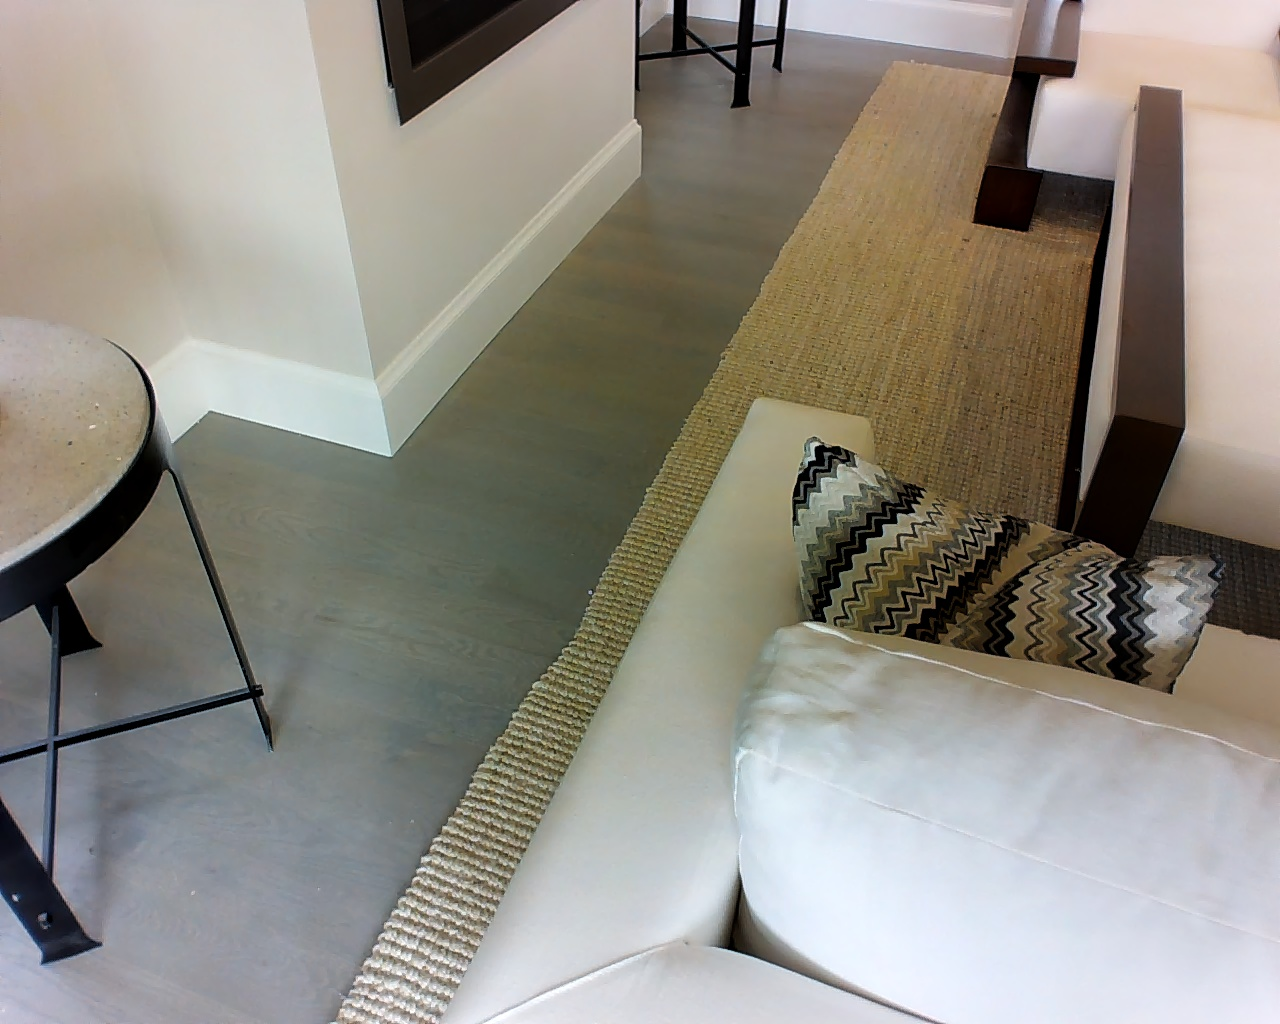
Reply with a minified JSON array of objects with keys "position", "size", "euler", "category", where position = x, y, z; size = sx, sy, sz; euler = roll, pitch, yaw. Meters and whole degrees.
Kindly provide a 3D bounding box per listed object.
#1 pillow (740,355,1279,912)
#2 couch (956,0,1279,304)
[{"position":[0.380,0.120,1.160],"size":[0.440,0.390,0.280],"euler":[19,44,19],"category":"pillow"},{"position":[1.570,-1.340,3.180],"size":[0.960,0.930,1.020],"euler":[13,42,13],"category":"couch"}]
